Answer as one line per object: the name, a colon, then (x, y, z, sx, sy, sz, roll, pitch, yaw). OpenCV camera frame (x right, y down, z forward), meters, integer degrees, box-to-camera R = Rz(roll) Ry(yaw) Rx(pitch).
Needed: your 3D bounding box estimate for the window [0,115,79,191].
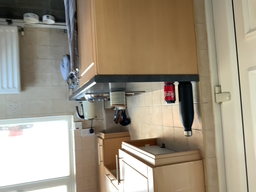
window: (-1.240, 0.830, 2.380, 1.290, 1.130, 0.320, -3, 177, -21)
